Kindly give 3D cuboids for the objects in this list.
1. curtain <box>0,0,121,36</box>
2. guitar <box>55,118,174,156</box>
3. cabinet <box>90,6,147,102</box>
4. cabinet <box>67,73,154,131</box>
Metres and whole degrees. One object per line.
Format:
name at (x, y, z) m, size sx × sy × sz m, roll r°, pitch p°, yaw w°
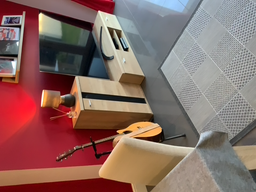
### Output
curtain at (-1.320, -1.620, 3.480) m, size 0.680 × 2.320 × 0.340 m, roll -58°, pitch 38°, yaw 39°
guitar at (-0.110, 0.360, 1.910) m, size 0.310 × 1.010 × 0.180 m, roll -140°, pitch 58°, yaw -63°
cabinet at (-0.220, -0.690, 3.180) m, size 0.560 × 0.290 × 1.570 m, roll -60°, pitch 37°, yaw 37°
cabinet at (-0.220, 0.090, 2.440) m, size 0.350 × 0.840 × 0.500 m, roll -60°, pitch 37°, yaw 37°
